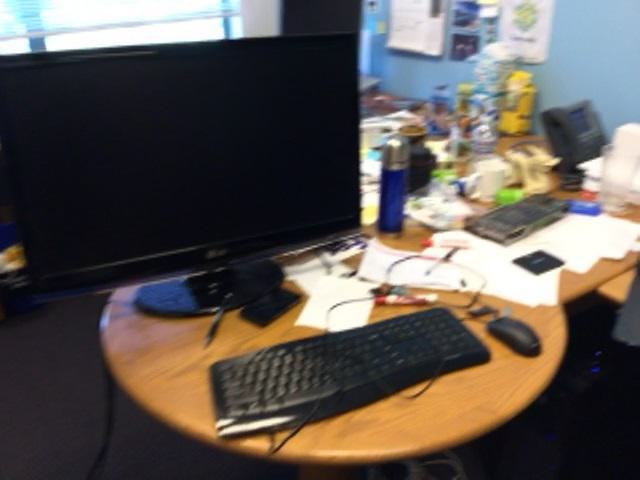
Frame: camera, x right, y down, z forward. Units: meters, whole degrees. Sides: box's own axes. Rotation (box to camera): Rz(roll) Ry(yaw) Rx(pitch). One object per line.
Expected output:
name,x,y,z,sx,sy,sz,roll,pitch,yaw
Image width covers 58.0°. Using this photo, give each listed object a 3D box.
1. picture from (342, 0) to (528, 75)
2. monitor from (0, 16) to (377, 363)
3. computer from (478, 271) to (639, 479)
picture,0.410,-0.910,2.360,0.120,0.320,0.950,-17,30,-29
monitor,-0.220,-0.130,1.060,0.670,0.470,0.180,-17,30,-29
computer,0.690,0.420,1.510,0.460,0.520,0.240,-17,30,-29
